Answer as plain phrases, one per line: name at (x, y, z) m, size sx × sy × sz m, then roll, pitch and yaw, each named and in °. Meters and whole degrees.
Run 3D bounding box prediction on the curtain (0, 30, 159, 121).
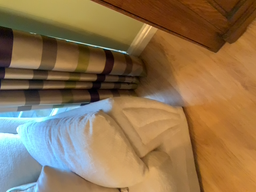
curtain at (-0.580, -0.060, 0.600) m, size 0.140 × 2.050 × 0.300 m, roll 50°, pitch 120°, yaw 27°
